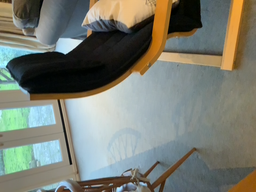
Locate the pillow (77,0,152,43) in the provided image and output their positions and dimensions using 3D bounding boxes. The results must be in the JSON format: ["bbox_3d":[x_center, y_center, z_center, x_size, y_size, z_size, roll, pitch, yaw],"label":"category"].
[{"bbox_3d":[-0.030,-0.420,1.010,0.140,0.250,0.470,62,-163,-22],"label":"pillow"}]
